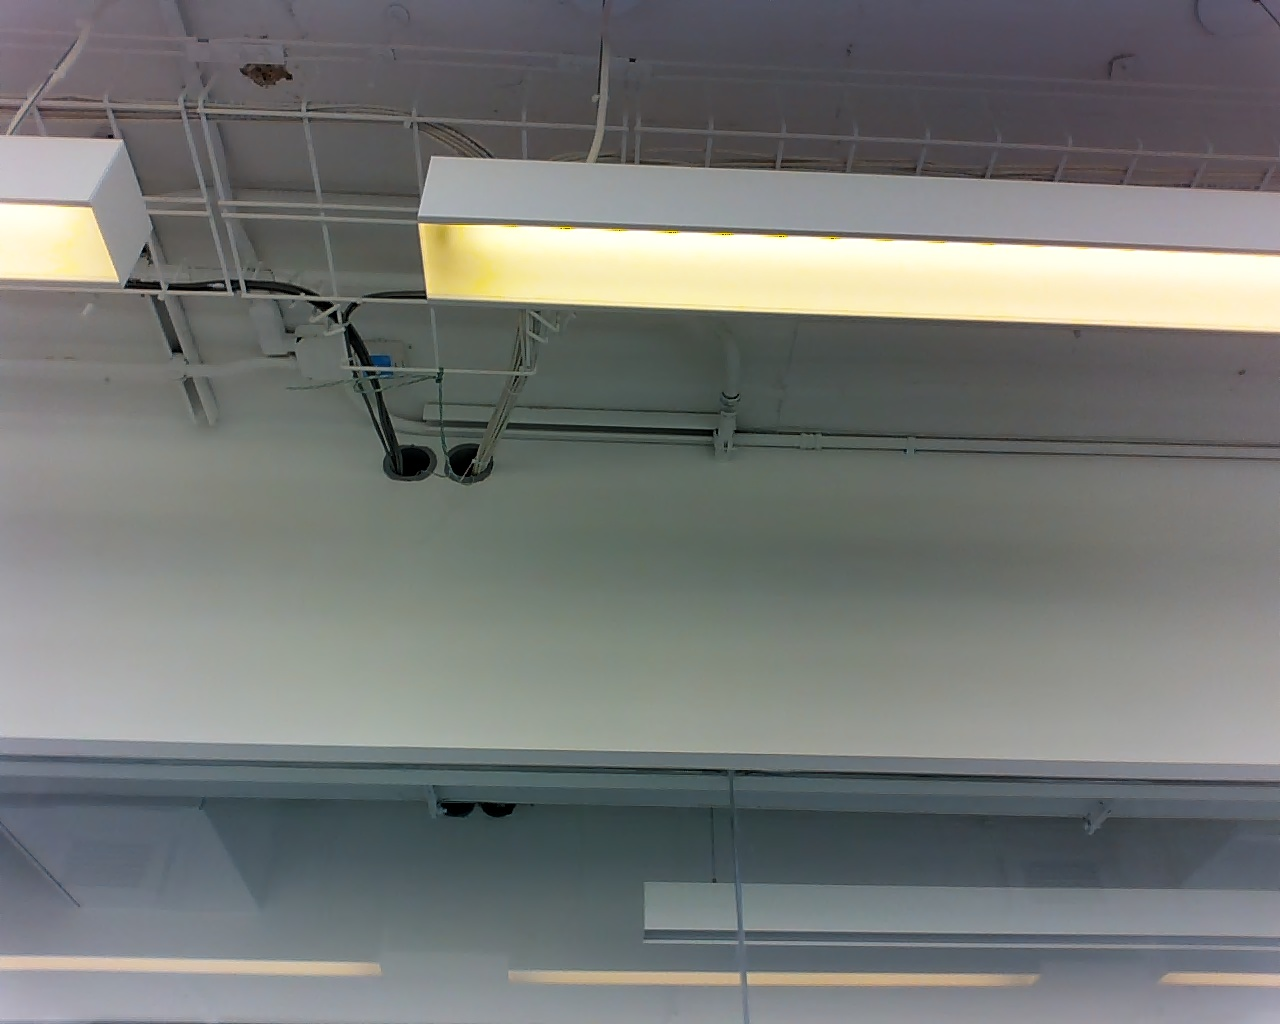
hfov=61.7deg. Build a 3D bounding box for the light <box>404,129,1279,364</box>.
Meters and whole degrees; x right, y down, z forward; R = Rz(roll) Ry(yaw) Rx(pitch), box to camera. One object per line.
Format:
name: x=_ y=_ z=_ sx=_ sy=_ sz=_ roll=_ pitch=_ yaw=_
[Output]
light: x=0.390 y=-0.260 z=1.080 sx=1.209 sy=0.170 sz=0.120 roll=2 pitch=-41 yaw=-2
